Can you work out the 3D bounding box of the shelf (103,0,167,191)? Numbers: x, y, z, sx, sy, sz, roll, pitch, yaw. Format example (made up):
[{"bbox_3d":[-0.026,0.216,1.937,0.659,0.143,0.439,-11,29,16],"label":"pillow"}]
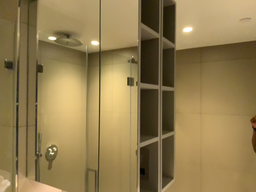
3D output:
[{"bbox_3d":[0.040,-0.030,1.050,0.230,1.080,0.220,0,-1,36],"label":"shelf"}]
